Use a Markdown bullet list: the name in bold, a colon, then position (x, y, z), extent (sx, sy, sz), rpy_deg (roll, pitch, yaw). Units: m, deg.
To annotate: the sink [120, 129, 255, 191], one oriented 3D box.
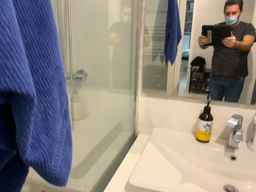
- **sink**: position (0.470, 0.400, 0.920), extent (0.900, 0.190, 0.490), rpy_deg (6, 17, 17)
